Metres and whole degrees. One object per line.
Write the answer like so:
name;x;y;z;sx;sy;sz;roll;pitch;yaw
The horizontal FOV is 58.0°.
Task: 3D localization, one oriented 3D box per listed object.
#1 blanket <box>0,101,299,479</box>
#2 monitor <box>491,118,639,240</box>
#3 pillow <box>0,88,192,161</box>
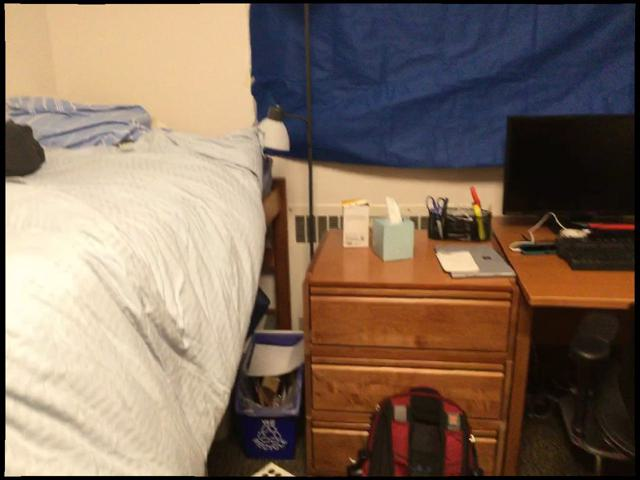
blanket;-0.709;0.130;1.400;1.058;0.741;1.880;2;18;6
monitor;1.068;-0.240;2.250;0.709;0.431;0.200;2;18;6
pillow;-0.888;-0.441;2.110;0.649;0.180;0.620;2;19;6
